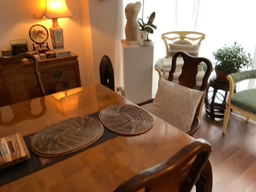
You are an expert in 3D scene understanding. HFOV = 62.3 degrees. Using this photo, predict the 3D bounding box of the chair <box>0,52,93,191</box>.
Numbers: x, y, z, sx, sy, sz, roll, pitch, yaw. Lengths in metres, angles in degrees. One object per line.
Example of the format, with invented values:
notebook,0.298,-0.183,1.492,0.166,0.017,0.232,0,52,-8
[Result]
chair,-0.680,0.260,1.630,0.520,1.010,0.580,-18,31,-33

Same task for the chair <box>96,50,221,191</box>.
chair,0.210,0.240,1.660,0.660,1.010,0.540,-19,31,-34

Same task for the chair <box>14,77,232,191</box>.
chair,-0.060,0.540,0.990,0.530,1.040,0.620,-18,30,-32

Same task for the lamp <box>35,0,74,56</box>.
lamp,-0.840,-0.840,2.440,0.280,0.680,0.230,-19,31,-33

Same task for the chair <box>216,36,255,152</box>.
chair,1.390,-0.030,2.180,0.540,1.030,0.540,-21,32,-36

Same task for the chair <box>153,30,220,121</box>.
chair,0.690,-0.280,2.740,0.650,1.020,0.560,3,26,8
